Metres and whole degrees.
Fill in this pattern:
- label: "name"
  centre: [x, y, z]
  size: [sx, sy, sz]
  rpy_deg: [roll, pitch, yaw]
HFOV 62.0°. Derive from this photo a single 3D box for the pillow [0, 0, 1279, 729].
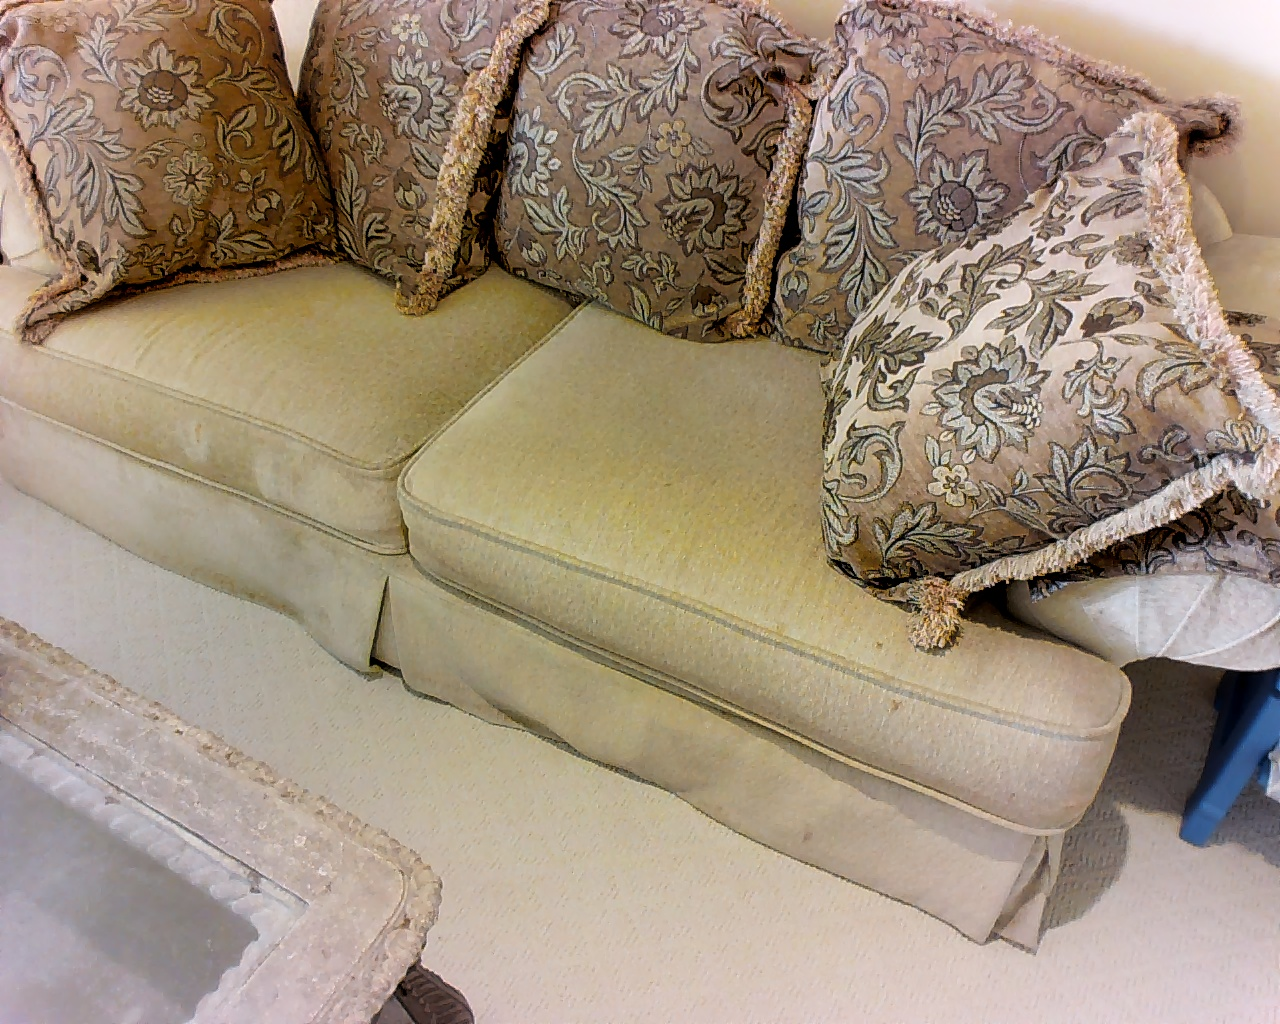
- label: "pillow"
  centre: [-0.080, -0.540, 1.720]
  size: [2.040, 0.470, 0.940]
  rpy_deg: [21, 46, 21]
